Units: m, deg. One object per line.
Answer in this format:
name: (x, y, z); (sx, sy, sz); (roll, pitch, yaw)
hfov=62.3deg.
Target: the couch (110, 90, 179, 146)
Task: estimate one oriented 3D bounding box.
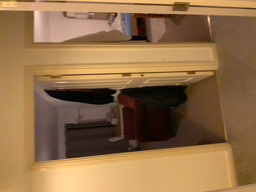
couch: (0.220, 0.490, 4.300); (1.520, 0.920, 0.880); (134, 131, -74)
